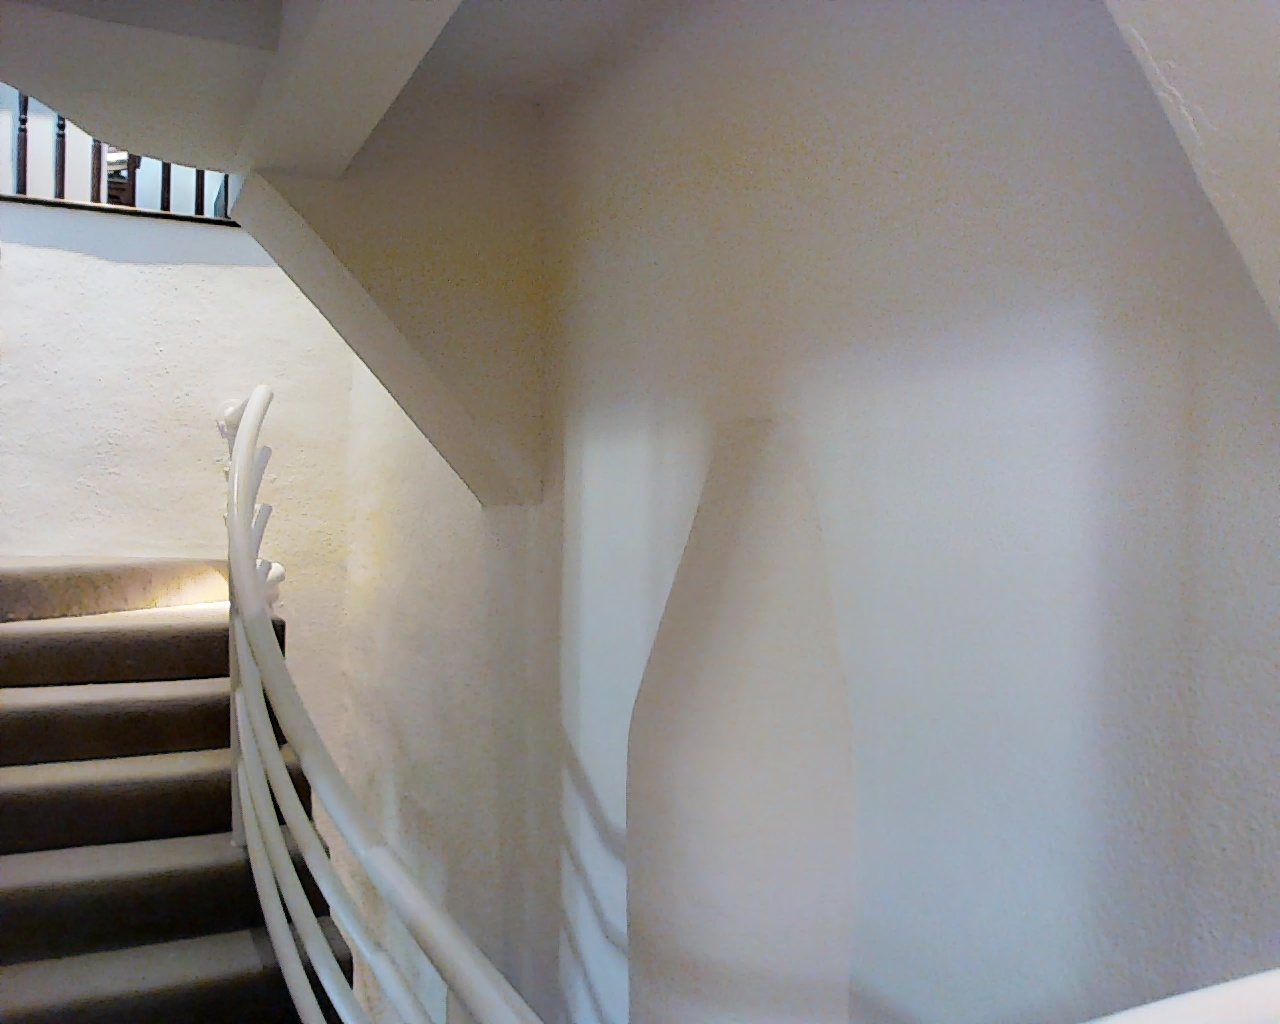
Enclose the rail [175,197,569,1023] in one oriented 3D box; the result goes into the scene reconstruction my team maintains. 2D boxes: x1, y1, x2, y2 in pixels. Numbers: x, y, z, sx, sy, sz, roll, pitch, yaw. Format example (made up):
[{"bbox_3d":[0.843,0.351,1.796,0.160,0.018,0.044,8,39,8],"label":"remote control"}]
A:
[{"bbox_3d":[-1.080,0.560,3.230,0.330,2.090,3.510,1,0,-27],"label":"rail"}]
